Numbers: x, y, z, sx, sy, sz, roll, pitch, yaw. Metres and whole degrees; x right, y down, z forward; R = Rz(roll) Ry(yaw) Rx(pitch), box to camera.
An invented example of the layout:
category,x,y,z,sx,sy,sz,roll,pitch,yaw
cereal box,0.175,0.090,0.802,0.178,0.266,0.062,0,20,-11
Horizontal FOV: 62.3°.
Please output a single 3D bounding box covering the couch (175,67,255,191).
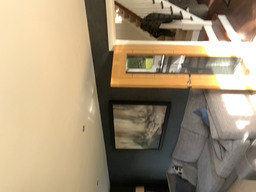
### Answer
category,x,y,z,sx,sy,sz,roll,pitch,yaw
couch,1.390,0.730,3.660,2.060,0.680,1.270,91,-178,-45
